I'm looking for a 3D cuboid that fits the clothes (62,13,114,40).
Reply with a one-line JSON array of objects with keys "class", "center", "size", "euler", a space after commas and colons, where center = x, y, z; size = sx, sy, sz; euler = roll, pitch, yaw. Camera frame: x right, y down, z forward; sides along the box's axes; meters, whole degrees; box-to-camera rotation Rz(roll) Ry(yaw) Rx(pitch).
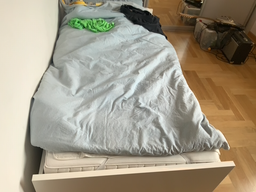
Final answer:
[{"class": "clothes", "center": [-0.350, -0.620, 1.890], "size": [0.430, 0.090, 0.270], "euler": [1, 43, -10]}]
